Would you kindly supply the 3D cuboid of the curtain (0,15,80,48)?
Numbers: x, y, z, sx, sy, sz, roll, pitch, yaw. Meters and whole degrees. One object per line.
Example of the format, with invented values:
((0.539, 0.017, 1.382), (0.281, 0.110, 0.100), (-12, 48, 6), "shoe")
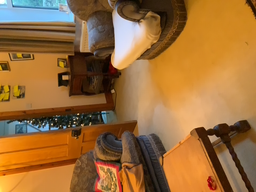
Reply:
((-1.440, -0.810, 2.680), (0.370, 1.600, 0.150), (115, 145, -52), "curtain")

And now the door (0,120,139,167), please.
((-0.910, 0.640, 2.800), (0.660, 2.100, 0.060), (108, 150, -45), "door")

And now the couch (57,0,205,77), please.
((-0.130, -0.830, 1.930), (1.140, 0.910, 1.040), (155, 110, -68), "couch")
